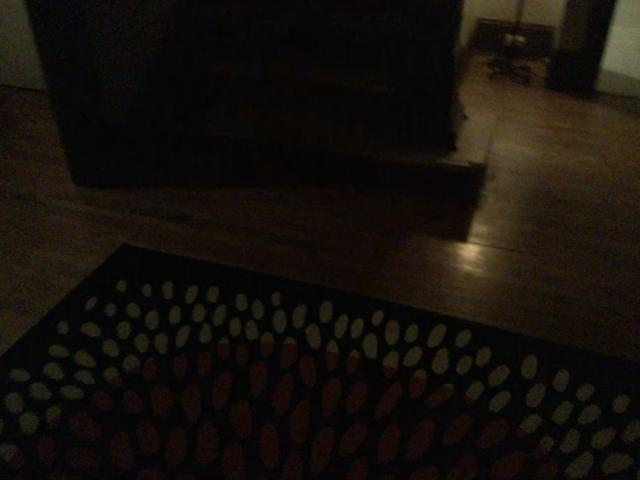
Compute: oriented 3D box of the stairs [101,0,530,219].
[{"bbox_3d":[0.190,-1.560,2.670,1.590,2.000,1.870,12,36,17],"label":"stairs"}]
